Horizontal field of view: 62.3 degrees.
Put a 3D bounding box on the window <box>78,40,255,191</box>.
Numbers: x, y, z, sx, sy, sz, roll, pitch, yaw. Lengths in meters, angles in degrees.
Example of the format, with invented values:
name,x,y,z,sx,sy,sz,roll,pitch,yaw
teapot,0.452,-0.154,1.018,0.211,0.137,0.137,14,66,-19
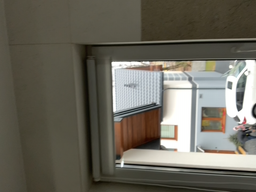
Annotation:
name,x,y,z,sx,sy,sz,roll,pitch,yaw
window,0.490,0.160,1.140,0.330,1.410,0.870,-52,-38,-77
